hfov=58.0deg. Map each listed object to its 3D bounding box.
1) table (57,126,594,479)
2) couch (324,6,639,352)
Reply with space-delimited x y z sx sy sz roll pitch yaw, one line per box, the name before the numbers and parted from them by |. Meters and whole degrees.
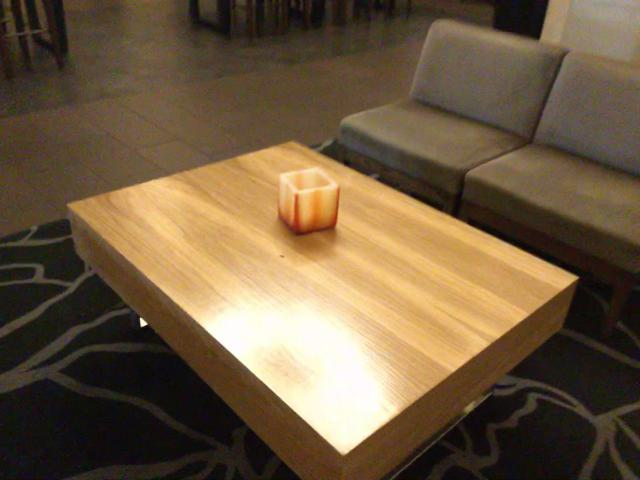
table | -0.050 0.170 1.800 0.970 0.510 1.250 -21 40 -36
couch | 0.820 -0.400 2.470 0.730 0.830 1.510 -21 40 -36
